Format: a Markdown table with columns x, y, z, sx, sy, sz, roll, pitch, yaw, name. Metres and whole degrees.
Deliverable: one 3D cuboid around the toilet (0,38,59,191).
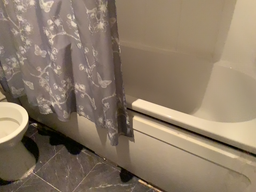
| x | y | z | sx | sy | sz | roll | pitch | yaw | name |
| --- | --- | --- | --- | --- | --- | --- | --- | --- | --- |
| -0.920 | 0.080 | 1.310 | 0.680 | 0.790 | 0.450 | 18 | 40 | 25 | toilet |
